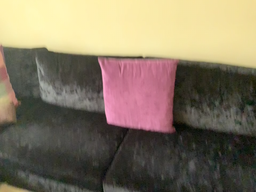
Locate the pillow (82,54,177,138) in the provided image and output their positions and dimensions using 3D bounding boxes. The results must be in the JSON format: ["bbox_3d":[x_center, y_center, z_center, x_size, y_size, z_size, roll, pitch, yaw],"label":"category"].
[{"bbox_3d":[0.040,-0.020,1.540,0.580,0.500,0.320,2,21,18],"label":"pillow"}]
